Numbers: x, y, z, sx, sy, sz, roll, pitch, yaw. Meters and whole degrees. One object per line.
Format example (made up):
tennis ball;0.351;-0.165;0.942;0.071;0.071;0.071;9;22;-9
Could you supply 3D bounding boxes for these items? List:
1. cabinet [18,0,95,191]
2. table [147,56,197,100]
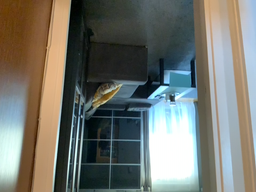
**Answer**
cabinet;-0.570;0.080;1.990;0.370;1.980;0.900;3;167;-7
table;0.720;-0.270;3.700;0.550;0.470;0.940;4;167;-8
